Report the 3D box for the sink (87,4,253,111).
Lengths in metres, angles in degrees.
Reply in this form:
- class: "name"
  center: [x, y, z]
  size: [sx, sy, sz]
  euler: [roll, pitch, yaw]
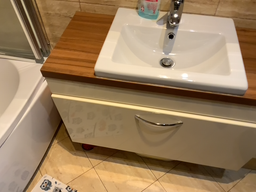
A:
- class: "sink"
  center: [0.160, -0.180, 0.850]
  size: [0.530, 0.120, 0.410]
  euler: [9, 52, 6]
